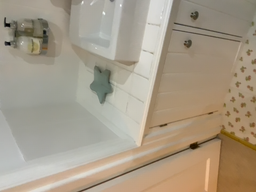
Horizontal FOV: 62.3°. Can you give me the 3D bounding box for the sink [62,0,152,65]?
[{"bbox_3d":[-0.100,-0.450,0.900,0.450,0.140,0.530,30,117,44],"label":"sink"}]
